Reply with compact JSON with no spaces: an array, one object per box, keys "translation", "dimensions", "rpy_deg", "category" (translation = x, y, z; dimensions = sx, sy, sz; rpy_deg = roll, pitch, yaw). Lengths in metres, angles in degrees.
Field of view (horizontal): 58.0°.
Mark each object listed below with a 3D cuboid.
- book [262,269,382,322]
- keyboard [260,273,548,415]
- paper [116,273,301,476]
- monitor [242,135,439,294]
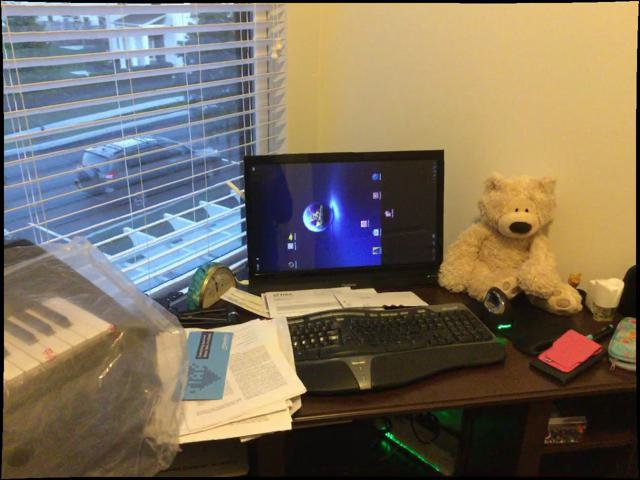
[{"translation":[0.000,0.130,1.400],"dimensions":[0.259,0.020,0.160],"rpy_deg":[-6,27,-12],"category":"book"},{"translation":[0.160,0.200,1.230],"dimensions":[0.529,0.060,0.300],"rpy_deg":[-6,27,-13],"category":"keyboard"},{"translation":[-0.219,0.231,1.110],"dimensions":[0.289,0.140,0.370],"rpy_deg":[-6,27,-13],"category":"paper"},{"translation":[0.040,-0.070,1.470],"dimensions":[0.449,0.331,0.190],"rpy_deg":[-4,26,-8],"category":"monitor"}]
